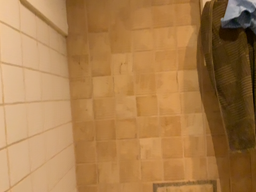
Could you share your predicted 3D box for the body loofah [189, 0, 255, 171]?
[{"bbox_3d":[0.480,-0.090,0.850,0.370,0.680,0.230,-3,1,1],"label":"body loofah"}]
